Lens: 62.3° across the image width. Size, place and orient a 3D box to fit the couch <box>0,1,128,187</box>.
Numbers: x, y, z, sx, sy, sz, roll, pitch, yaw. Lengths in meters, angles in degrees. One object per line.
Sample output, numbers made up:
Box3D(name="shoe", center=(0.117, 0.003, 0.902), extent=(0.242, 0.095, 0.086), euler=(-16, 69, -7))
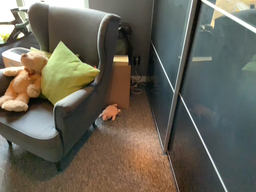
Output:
Box3D(name="couch", center=(-0.570, -0.100, 1.680), extent=(0.780, 0.970, 0.930), euler=(18, 38, 20))

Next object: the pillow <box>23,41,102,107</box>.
Box3D(name="pillow", center=(-0.440, -0.130, 1.550), extent=(0.440, 0.420, 0.180), euler=(30, 80, 2))
